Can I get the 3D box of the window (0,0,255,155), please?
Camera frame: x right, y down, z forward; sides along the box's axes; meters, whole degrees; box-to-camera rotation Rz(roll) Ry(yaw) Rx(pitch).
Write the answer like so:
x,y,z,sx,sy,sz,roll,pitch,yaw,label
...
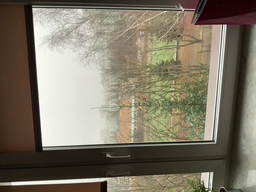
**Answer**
x,y,z,sx,sy,sz,roll,pitch,yaw,label
-0.050,-0.080,1.100,0.130,1.380,0.720,-119,29,-77,window
